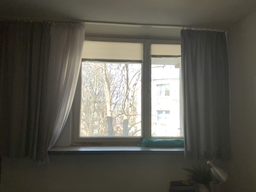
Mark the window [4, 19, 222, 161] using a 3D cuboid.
[{"bbox_3d":[-0.090,-0.050,2.340,2.240,1.400,0.240,1,-3,-7],"label":"window"}]

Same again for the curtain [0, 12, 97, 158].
[{"bbox_3d":[-0.800,-0.100,2.030,0.960,1.330,0.140,1,-3,-6],"label":"curtain"}]
